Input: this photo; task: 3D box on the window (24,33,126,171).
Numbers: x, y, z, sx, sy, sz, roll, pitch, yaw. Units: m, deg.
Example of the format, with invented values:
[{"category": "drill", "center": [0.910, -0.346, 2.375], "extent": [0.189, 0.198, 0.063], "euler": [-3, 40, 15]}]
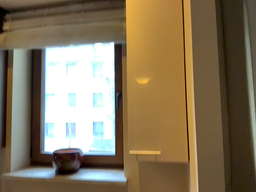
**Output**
[{"category": "window", "center": [-0.450, 0.050, 1.800], "extent": [0.830, 1.090, 0.130], "euler": [-2, -5, 9]}]
